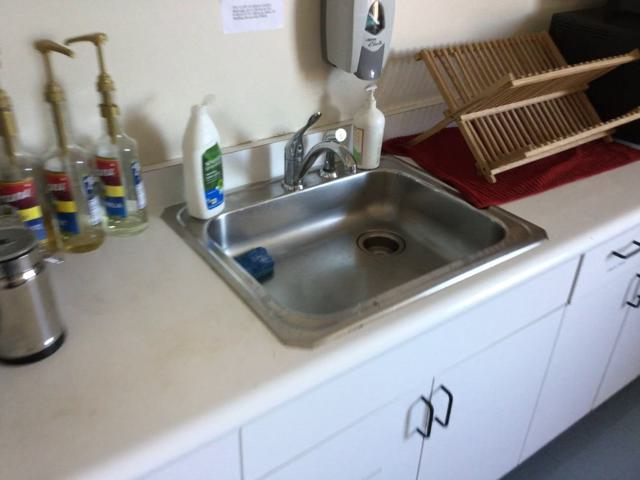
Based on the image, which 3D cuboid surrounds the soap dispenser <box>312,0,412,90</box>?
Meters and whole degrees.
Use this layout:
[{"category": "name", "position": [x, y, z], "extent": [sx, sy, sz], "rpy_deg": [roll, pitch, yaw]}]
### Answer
[{"category": "soap dispenser", "position": [0.090, -0.500, 1.270], "extent": [0.180, 0.290, 0.120], "rpy_deg": [-19, 35, -29]}]

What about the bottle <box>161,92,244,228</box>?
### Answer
[{"category": "bottle", "position": [-0.230, -0.160, 1.160], "extent": [0.110, 0.230, 0.100], "rpy_deg": [-19, 35, -29]}]

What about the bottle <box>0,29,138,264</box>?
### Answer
[{"category": "bottle", "position": [-0.430, -0.160, 1.020], "extent": [0.130, 0.370, 0.120], "rpy_deg": [-19, 35, -29]}]

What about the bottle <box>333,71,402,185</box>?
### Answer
[{"category": "bottle", "position": [0.110, -0.270, 1.400], "extent": [0.100, 0.230, 0.120], "rpy_deg": [-19, 35, -29]}]

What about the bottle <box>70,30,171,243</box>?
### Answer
[{"category": "bottle", "position": [-0.370, -0.190, 1.100], "extent": [0.100, 0.370, 0.100], "rpy_deg": [-19, 35, -29]}]

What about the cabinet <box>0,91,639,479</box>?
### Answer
[{"category": "cabinet", "position": [0.120, 0.360, 1.410], "extent": [2.970, 0.850, 0.660], "rpy_deg": [-19, 35, -29]}]
